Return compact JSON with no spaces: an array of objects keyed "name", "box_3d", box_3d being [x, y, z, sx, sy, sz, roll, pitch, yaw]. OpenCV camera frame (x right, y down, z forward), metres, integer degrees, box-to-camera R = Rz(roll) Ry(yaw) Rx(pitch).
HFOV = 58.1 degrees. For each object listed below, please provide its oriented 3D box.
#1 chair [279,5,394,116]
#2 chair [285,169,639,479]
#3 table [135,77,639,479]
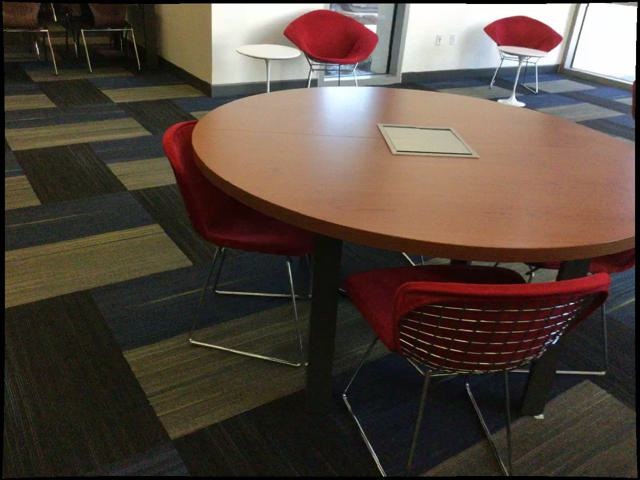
[{"name":"chair","box_3d":[0.100,-1.614,5.140,0.818,0.762,0.820,-1,28,-11]},{"name":"chair","box_3d":[0.349,0.271,1.600,0.649,0.691,0.600,-13,33,-30]},{"name":"table","box_3d":[0.329,0.000,2.130,1.517,0.782,1.510,-13,33,-30]}]
